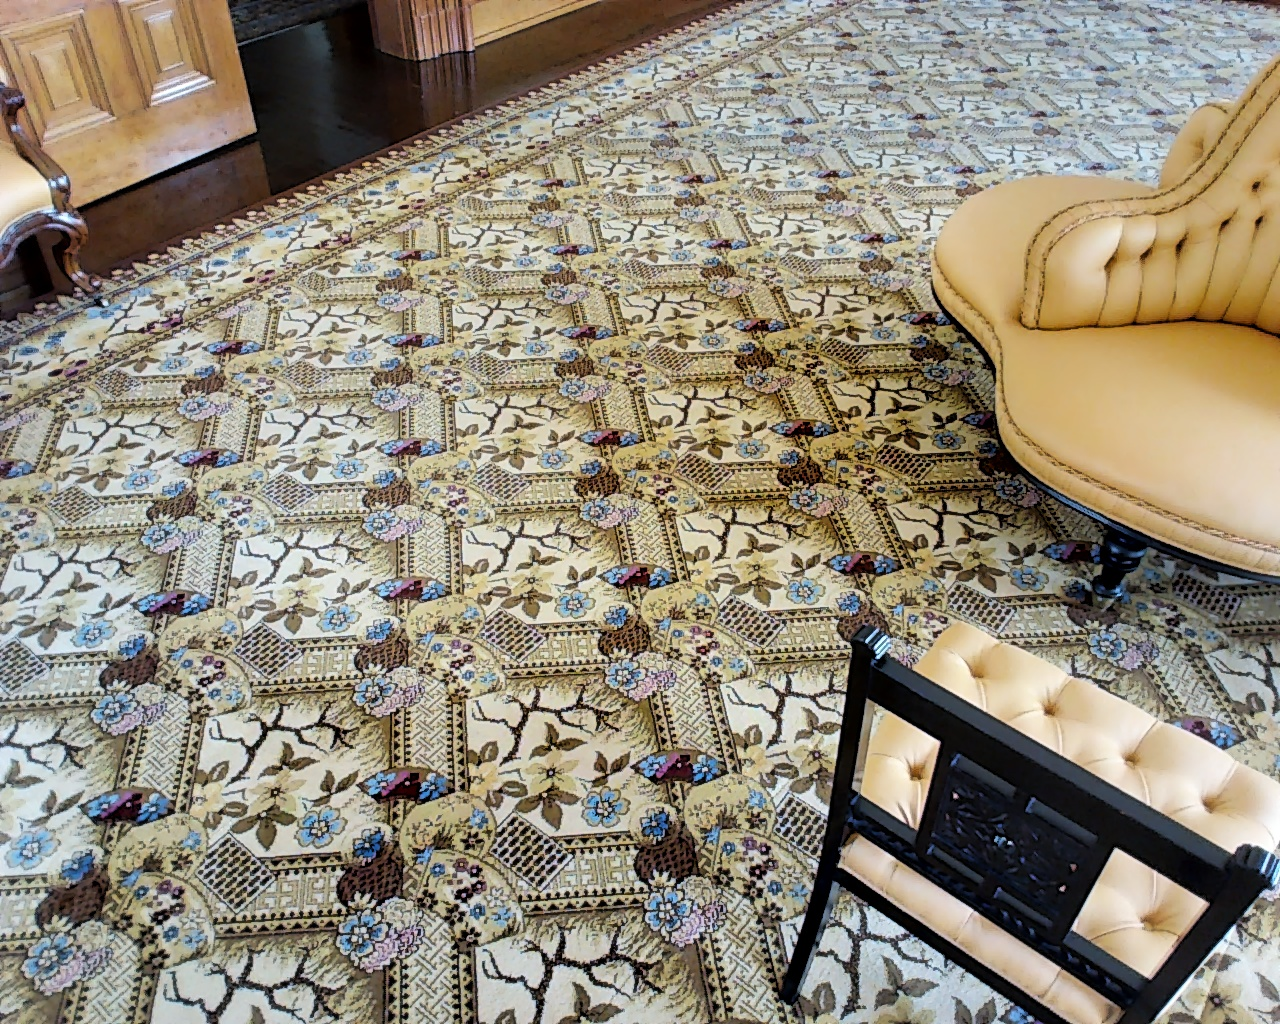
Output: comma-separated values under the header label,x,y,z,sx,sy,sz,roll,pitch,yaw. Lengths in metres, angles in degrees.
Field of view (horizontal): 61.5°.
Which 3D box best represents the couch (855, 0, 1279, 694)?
label,x,y,z,sx,sy,sz,roll,pitch,yaw
couch,1.430,-0.560,2.260,1.480,0.900,1.530,-3,41,-5
